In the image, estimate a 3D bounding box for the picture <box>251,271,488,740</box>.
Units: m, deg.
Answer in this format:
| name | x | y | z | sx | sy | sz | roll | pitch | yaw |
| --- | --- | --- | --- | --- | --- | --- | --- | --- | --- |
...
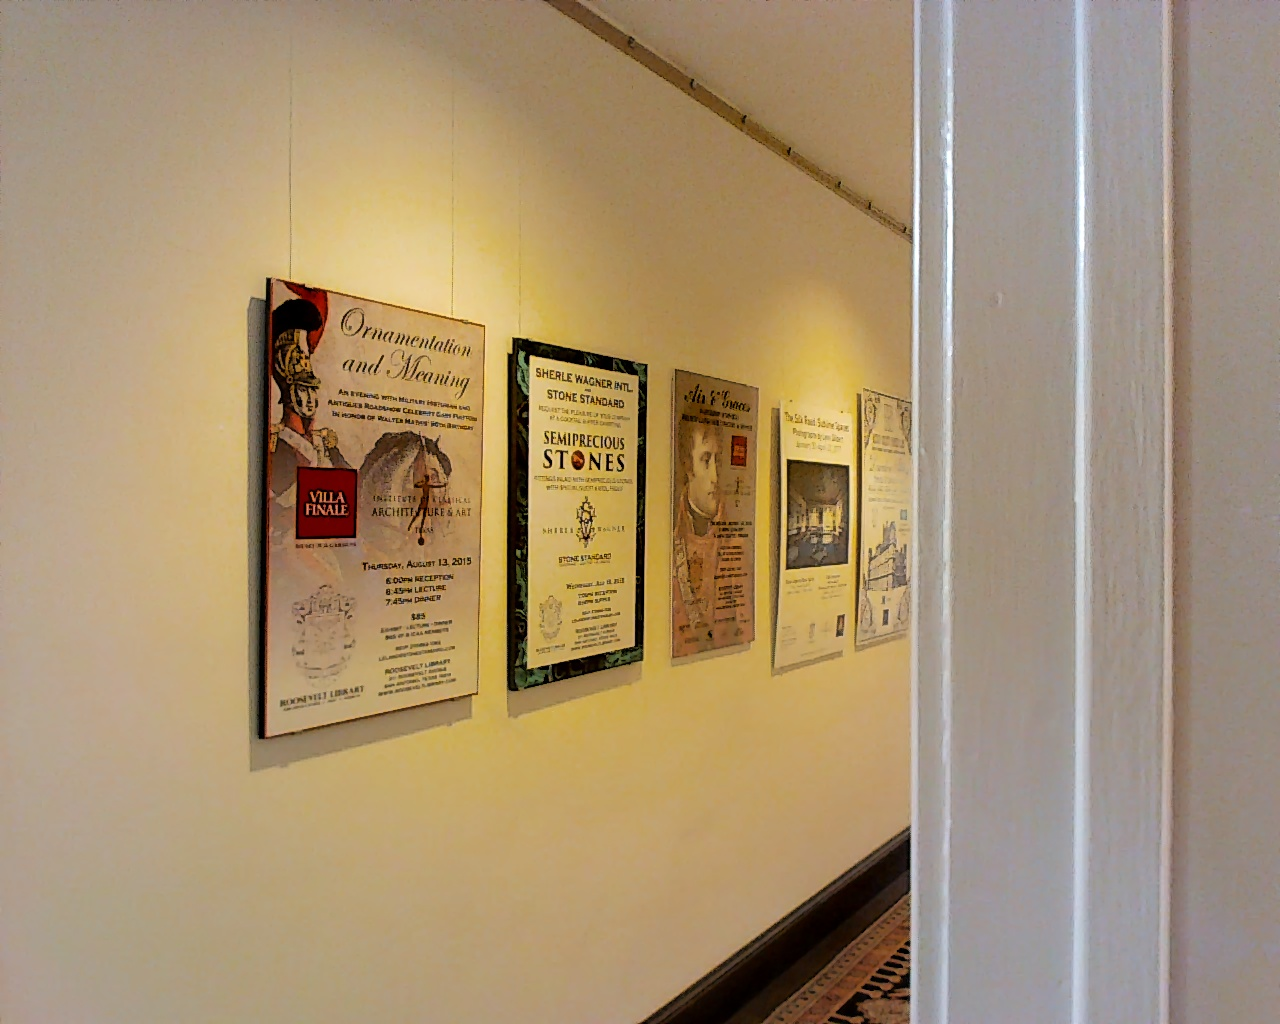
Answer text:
| name | x | y | z | sx | sy | sz | roll | pitch | yaw |
| --- | --- | --- | --- | --- | --- | --- | --- | --- | --- |
| picture | -0.480 | -0.010 | 2.000 | 0.040 | 0.770 | 0.540 | 1 | 0 | 33 |
